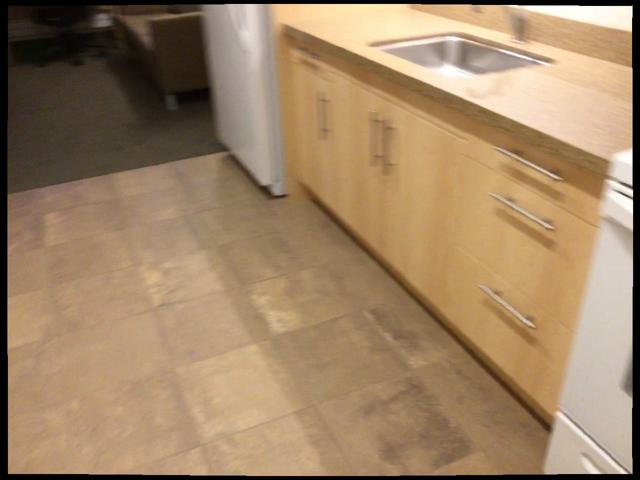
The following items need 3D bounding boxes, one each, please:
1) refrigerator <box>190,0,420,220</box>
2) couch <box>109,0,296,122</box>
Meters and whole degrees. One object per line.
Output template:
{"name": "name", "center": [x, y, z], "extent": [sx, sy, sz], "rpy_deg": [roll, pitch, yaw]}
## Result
{"name": "refrigerator", "center": [-0.120, -1.152, 2.900], "extent": [0.839, 1.702, 0.960], "rpy_deg": [-17, 33, -19]}
{"name": "couch", "center": [-1.098, -1.793, 4.910], "extent": [1.009, 0.821, 2.020], "rpy_deg": [-17, 33, -19]}
